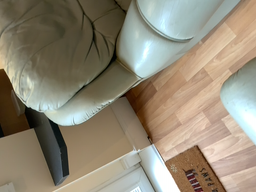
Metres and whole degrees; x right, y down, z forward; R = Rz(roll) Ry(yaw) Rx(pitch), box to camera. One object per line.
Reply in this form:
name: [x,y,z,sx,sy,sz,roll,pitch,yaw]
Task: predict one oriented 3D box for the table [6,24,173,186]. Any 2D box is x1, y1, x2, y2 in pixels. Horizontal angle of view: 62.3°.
table: [-0.320,-0.020,1.650,0.990,0.840,0.450,59,140,17]
